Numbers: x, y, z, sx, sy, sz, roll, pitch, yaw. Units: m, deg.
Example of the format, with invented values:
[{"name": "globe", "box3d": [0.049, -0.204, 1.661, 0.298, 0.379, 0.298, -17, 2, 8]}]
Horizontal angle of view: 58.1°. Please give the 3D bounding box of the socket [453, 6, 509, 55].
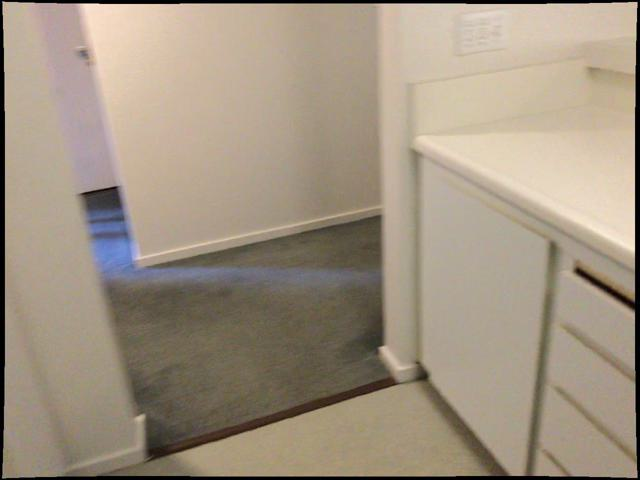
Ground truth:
[{"name": "socket", "box3d": [0.469, -0.612, 1.680, 0.160, 0.110, 0.040, -13, 27, -13]}]
